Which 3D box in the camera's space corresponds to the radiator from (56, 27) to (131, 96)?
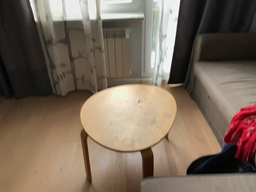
[{"bbox_3d":[-0.350,-0.380,2.430,0.760,0.730,0.150,-4,32,-5],"label":"radiator"}]
